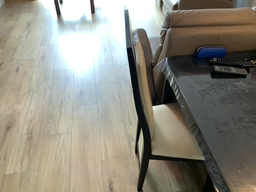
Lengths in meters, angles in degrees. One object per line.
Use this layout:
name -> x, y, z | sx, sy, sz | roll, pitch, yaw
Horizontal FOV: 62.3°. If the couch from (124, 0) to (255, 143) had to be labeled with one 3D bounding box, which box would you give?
couch -> 0.960, -0.420, 1.880 | 1.840, 0.980, 1.050 | -5, 43, -8
